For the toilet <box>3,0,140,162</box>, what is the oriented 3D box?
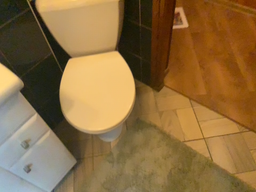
[{"bbox_3d":[-0.180,-0.120,1.140,0.400,0.760,0.680,-6,55,0],"label":"toilet"}]
